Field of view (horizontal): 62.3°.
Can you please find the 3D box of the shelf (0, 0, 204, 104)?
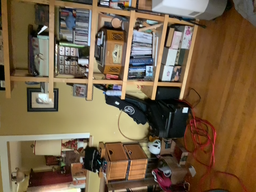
[{"bbox_3d":[-0.200,-0.900,2.230,0.380,2.000,1.950,-133,47,-63],"label":"shelf"}]
